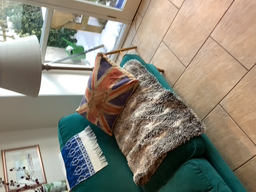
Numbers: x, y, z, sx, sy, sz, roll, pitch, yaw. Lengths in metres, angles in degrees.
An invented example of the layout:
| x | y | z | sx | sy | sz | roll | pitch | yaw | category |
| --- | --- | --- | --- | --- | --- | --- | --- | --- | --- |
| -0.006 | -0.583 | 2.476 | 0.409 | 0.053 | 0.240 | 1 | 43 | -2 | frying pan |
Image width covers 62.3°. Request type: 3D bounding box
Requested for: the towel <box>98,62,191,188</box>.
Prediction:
| x | y | z | sx | sy | sz | roll | pitch | yaw | category |
| --- | --- | --- | --- | --- | --- | --- | --- | --- | --- |
| 0.050 | 0.210 | 1.600 | 0.650 | 0.150 | 0.660 | 58 | 136 | 35 | towel |
